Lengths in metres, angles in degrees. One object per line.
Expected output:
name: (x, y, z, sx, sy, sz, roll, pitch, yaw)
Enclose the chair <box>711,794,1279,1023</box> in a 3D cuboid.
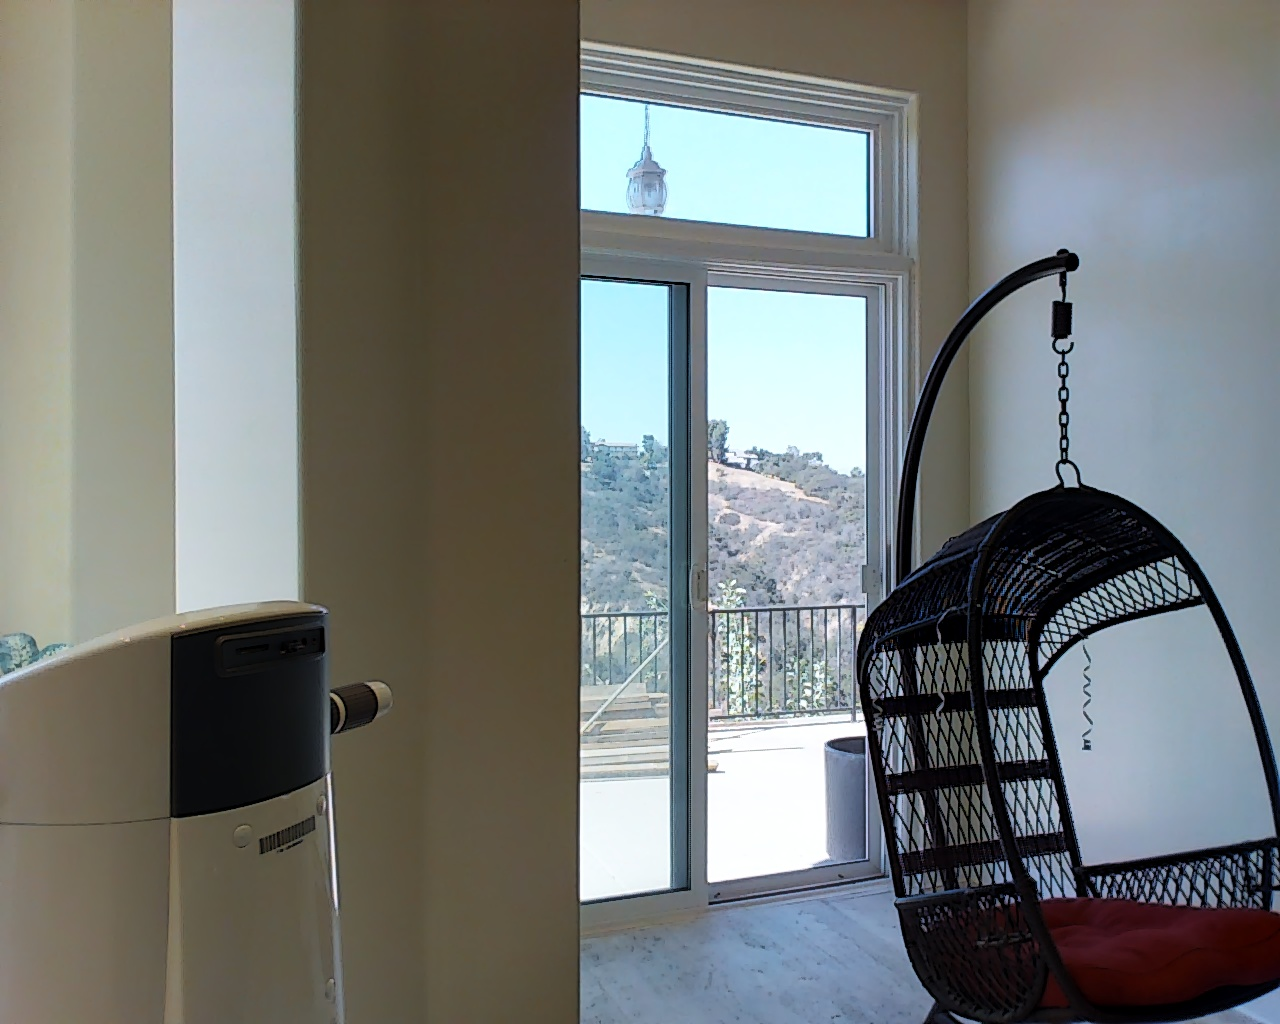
chair: (0.900, 1.140, 2.520, 1.140, 0.590, 1.060, 0, 0, -19)
